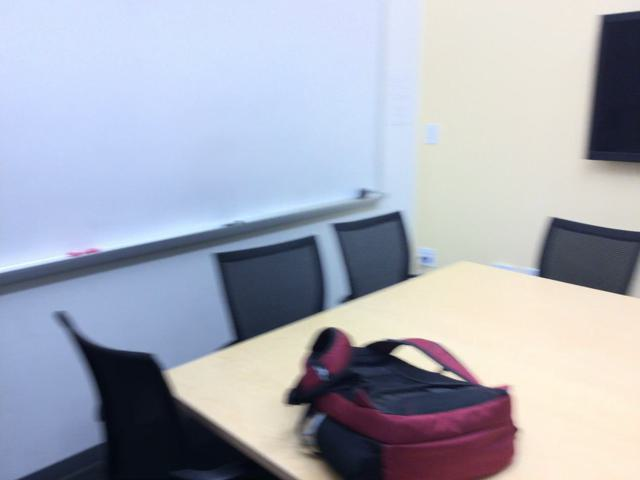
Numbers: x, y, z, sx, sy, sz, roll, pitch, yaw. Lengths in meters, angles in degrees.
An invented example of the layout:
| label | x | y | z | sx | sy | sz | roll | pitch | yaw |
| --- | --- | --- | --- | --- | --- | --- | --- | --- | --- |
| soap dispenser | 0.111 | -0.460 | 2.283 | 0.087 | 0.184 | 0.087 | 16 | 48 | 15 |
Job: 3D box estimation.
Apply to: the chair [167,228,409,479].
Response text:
| label | x | y | z | sx | sy | sz | roll | pitch | yaw |
| --- | --- | --- | --- | --- | --- | --- | --- | --- | --- |
| chair | -0.090 | 0.480 | 2.040 | 0.530 | 0.900 | 0.620 | 11 | 18 | 44 |

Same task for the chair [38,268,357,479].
| label | x | y | z | sx | sy | sz | roll | pitch | yaw |
| --- | --- | --- | --- | --- | --- | --- | --- | --- | --- |
| chair | -0.310 | 0.600 | 1.540 | 0.640 | 0.870 | 0.510 | 11 | 17 | 44 |

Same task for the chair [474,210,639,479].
| label | x | y | z | sx | sy | sz | roll | pitch | yaw |
| --- | --- | --- | --- | --- | --- | --- | --- | --- | --- |
| chair | 0.940 | 0.390 | 2.190 | 0.440 | 0.900 | 0.550 | 11 | 17 | 44 |

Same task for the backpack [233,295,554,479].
| label | x | y | z | sx | sy | sz | roll | pitch | yaw |
| --- | --- | --- | --- | --- | --- | --- | --- | --- | --- |
| backpack | 0.160 | 0.330 | 1.260 | 0.490 | 0.220 | 0.480 | 11 | 17 | 44 |

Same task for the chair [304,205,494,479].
| label | x | y | z | sx | sy | sz | roll | pitch | yaw |
| --- | --- | --- | --- | --- | --- | --- | --- | --- | --- |
| chair | 0.330 | 0.370 | 2.440 | 0.540 | 0.920 | 0.550 | 11 | 18 | 44 |
